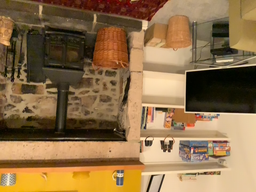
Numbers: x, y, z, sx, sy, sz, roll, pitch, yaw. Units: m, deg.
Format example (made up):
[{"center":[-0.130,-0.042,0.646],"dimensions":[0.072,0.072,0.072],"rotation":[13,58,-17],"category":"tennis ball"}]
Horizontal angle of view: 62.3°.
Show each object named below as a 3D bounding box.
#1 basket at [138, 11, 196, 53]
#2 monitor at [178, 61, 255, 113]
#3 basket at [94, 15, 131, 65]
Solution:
[{"center":[0.460,-0.770,2.640],"dimensions":[0.510,0.260,0.560],"rotation":[3,176,-17],"category":"basket"},{"center":[0.990,-0.100,2.390],"dimensions":[0.860,0.530,0.040],"rotation":[1,178,36],"category":"monitor"},{"center":[-0.190,-0.630,2.490],"dimensions":[0.340,0.430,0.400],"rotation":[3,176,-16],"category":"basket"}]
